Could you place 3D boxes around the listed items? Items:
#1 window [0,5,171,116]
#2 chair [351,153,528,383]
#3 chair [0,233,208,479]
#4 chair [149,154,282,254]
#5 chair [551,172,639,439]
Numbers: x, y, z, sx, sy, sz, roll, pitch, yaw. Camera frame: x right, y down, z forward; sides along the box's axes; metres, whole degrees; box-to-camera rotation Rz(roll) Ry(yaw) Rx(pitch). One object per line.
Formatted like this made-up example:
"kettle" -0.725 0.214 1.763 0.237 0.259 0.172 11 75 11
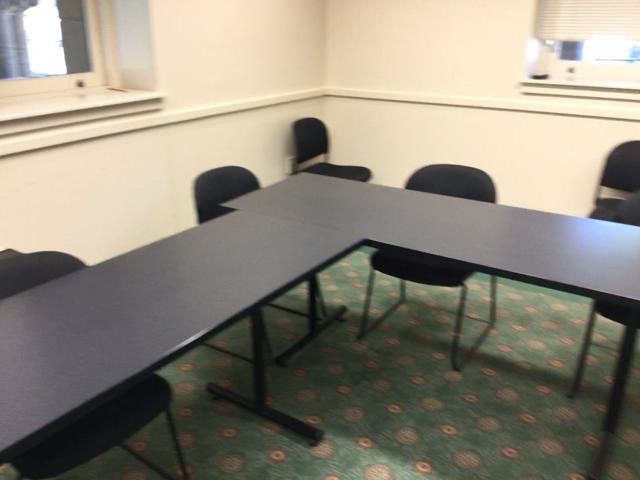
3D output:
"window" -1.250 -0.840 2.630 0.570 0.400 0.920 11 24 32
"chair" 0.530 0.080 2.570 0.550 0.780 0.580 11 24 31
"chair" -0.710 0.470 1.630 0.580 0.780 0.470 16 27 40
"chair" -0.440 -0.180 2.570 0.240 0.280 0.560 11 24 32
"chair" 1.270 0.230 2.140 0.590 0.780 0.640 10 24 29
